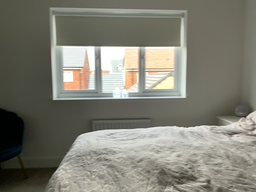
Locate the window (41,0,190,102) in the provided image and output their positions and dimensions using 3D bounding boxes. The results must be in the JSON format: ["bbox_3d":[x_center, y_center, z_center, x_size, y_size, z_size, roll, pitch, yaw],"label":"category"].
[{"bbox_3d":[-0.140,-0.600,2.850,1.860,1.330,0.280,0,6,-6],"label":"window"}]
